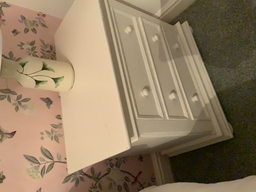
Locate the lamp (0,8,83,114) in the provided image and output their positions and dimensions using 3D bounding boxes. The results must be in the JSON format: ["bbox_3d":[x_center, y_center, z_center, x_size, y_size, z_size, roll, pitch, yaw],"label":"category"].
[{"bbox_3d":[-0.400,-0.100,0.690,0.230,0.410,0.250,-32,62,43],"label":"lamp"}]
